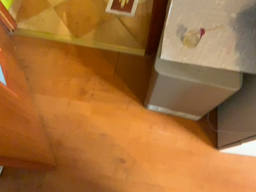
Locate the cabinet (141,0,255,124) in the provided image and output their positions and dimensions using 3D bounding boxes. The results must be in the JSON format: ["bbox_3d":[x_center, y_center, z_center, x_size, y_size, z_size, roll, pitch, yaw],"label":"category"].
[{"bbox_3d":[0.330,-0.140,1.100,0.430,0.480,0.390,11,70,3],"label":"cabinet"}]
